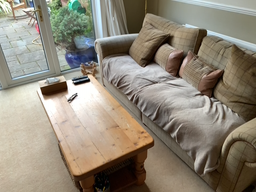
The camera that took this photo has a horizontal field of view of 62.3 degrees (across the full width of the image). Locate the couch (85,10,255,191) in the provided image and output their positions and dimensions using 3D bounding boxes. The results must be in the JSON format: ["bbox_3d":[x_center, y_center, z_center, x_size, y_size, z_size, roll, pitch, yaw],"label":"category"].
[{"bbox_3d":[0.620,-0.210,2.330,1.240,0.890,2.360,-19,37,-26],"label":"couch"}]

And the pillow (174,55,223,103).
[{"bbox_3d":[0.670,-0.180,2.080,0.160,0.300,0.430,-17,36,-24],"label":"pillow"}]

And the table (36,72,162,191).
[{"bbox_3d":[-0.340,0.320,1.880,0.620,0.490,1.240,-16,36,-23],"label":"table"}]

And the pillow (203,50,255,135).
[{"bbox_3d":[0.960,-0.050,1.740,0.240,0.510,0.490,-6,31,-30],"label":"pillow"}]

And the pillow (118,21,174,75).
[{"bbox_3d":[0.210,-0.620,2.690,0.220,0.510,0.490,28,9,-45],"label":"pillow"}]

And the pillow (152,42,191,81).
[{"bbox_3d":[0.480,-0.400,2.410,0.190,0.300,0.380,-20,37,-27],"label":"pillow"}]
